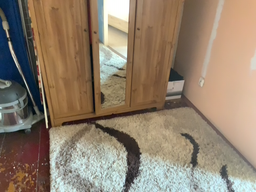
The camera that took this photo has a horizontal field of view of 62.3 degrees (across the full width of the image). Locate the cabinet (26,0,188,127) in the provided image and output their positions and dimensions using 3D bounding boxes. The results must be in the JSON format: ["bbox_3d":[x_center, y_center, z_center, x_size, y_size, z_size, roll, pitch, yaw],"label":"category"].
[{"bbox_3d":[-0.200,-0.730,2.050,1.320,1.880,0.620,-8,34,-17],"label":"cabinet"}]
